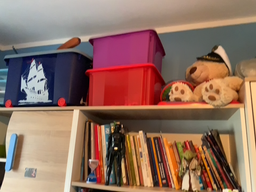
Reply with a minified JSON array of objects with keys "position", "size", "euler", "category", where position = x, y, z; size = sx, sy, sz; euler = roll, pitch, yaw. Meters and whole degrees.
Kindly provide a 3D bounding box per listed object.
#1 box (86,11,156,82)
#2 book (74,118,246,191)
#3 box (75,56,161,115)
[{"position":[-0.020,-0.280,1.320],"size":[0.340,0.270,0.350],"euler":[-1,-16,14],"category":"box"},{"position":[0.150,0.320,1.110],"size":[0.740,0.350,0.320],"euler":[-1,-16,13],"category":"book"},{"position":[-0.030,-0.040,1.250],"size":[0.420,0.240,0.340],"euler":[-1,-16,13],"category":"box"}]
